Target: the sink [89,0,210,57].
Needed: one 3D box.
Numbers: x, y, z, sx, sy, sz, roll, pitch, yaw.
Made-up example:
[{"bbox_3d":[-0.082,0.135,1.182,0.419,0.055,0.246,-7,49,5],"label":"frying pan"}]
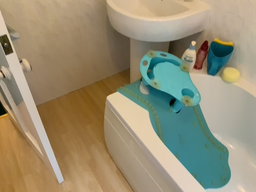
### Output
[{"bbox_3d":[0.100,-0.550,1.360,0.470,0.180,0.620,-24,51,-24],"label":"sink"}]
